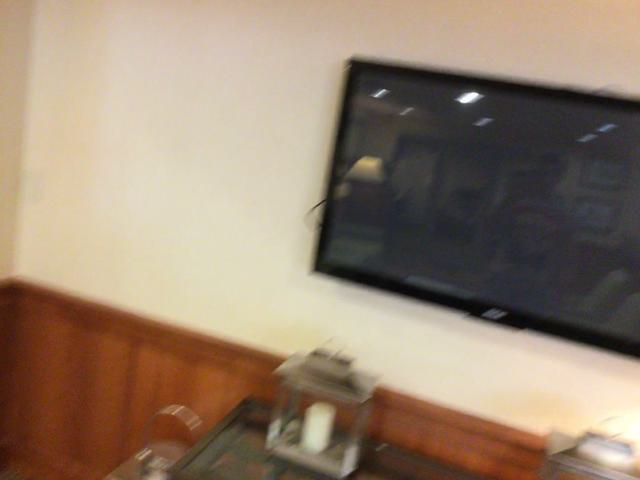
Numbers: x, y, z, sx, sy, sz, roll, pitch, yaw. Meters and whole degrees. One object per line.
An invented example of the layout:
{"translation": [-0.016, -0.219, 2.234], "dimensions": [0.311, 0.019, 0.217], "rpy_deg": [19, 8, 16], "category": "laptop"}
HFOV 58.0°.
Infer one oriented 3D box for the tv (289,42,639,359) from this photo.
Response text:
{"translation": [0.560, -0.130, 1.680], "dimensions": [1.150, 0.720, 0.200], "rpy_deg": [14, -6, 20], "category": "tv"}
